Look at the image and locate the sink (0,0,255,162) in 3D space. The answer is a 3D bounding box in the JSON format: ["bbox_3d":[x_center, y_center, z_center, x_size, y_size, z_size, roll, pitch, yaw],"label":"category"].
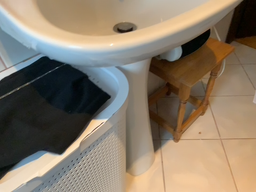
[{"bbox_3d":[0.020,-0.210,0.520,0.570,0.190,0.420,-36,54,-28],"label":"sink"}]
